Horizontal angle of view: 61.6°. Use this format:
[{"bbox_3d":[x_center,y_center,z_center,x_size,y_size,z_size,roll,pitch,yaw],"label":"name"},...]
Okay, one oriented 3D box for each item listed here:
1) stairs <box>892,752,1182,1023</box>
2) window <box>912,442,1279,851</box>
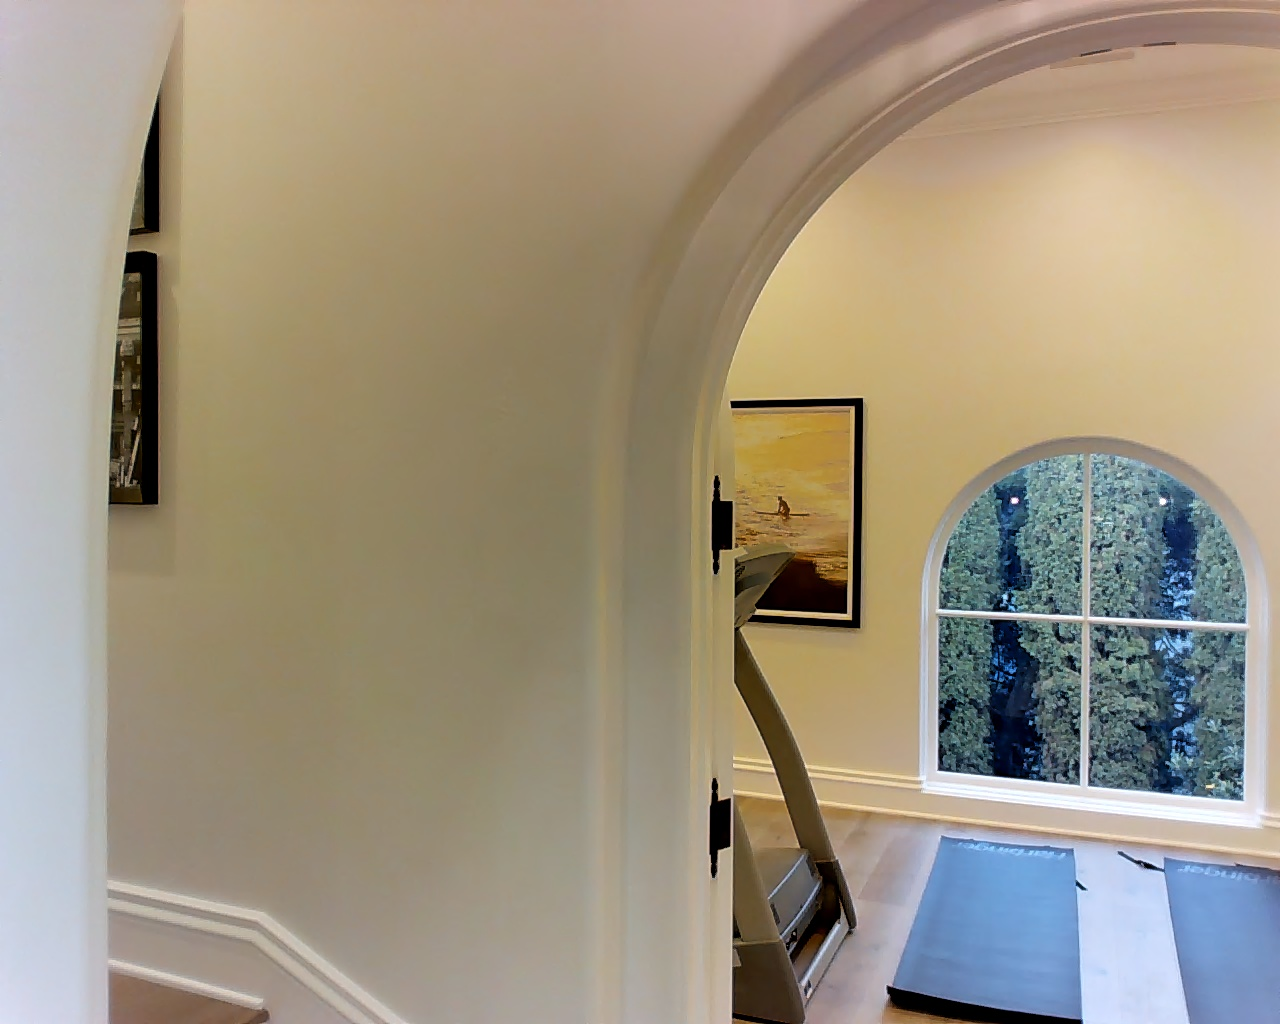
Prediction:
[{"bbox_3d":[1.380,1.360,3.720,0.810,0.770,1.080,1,-1,23],"label":"stairs"},{"bbox_3d":[2.159,0.590,5.200,1.590,1.821,0.240,1,-1,22],"label":"window"}]
